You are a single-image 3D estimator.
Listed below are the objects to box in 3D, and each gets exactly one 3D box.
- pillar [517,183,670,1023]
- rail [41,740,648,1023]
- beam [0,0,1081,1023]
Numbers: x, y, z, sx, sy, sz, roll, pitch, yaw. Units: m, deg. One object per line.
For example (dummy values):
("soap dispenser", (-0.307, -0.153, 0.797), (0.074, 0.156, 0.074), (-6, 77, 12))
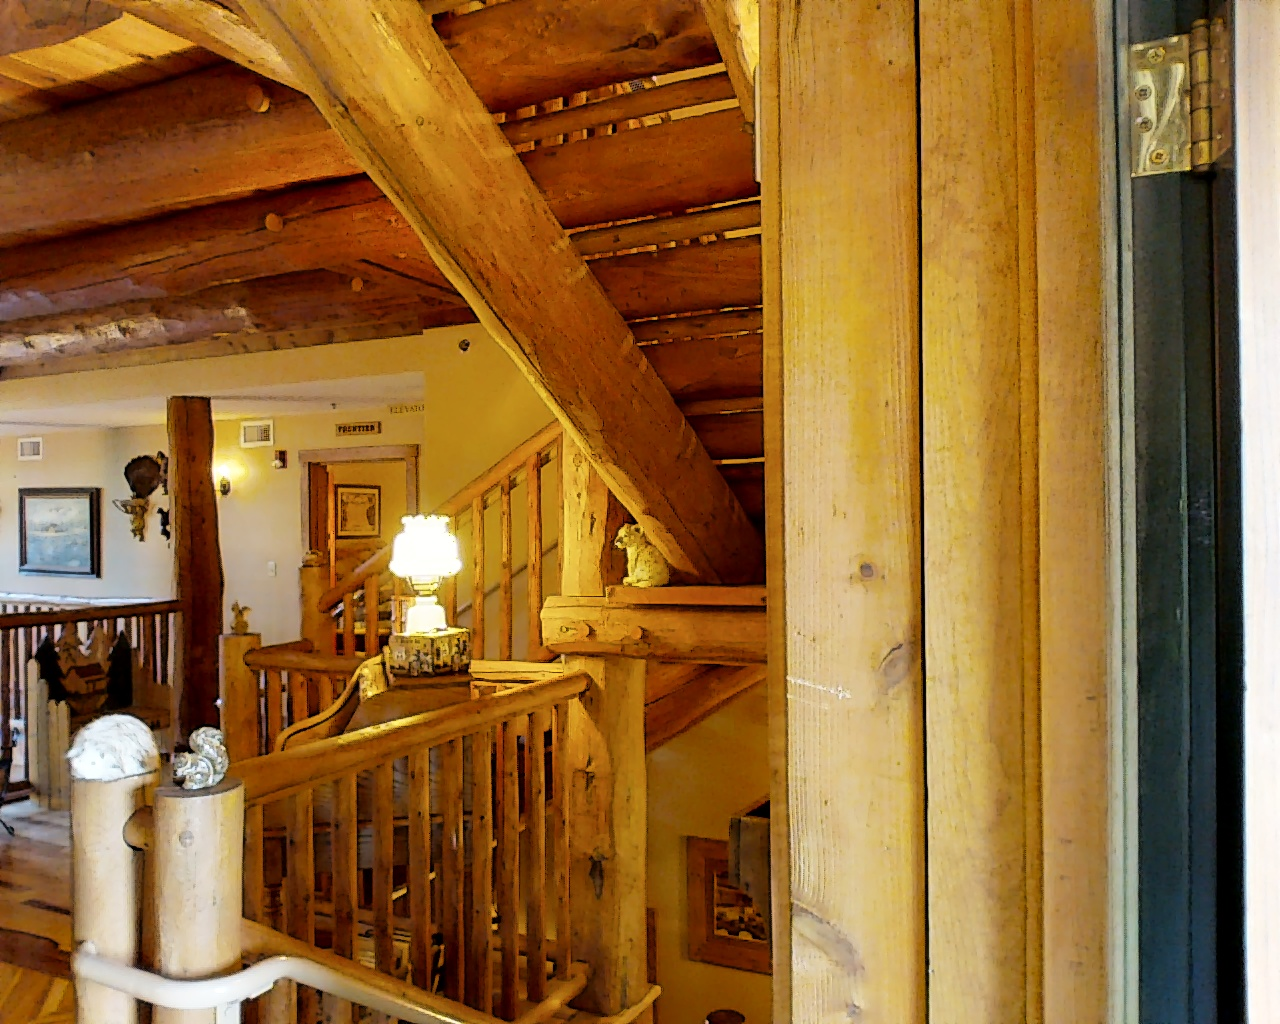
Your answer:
("pillar", (-0.150, 0.290, 3.570), (0.370, 2.621, 0.320), (-1, 0, 26))
("rail", (-0.510, 1.180, 2.530), (0.370, 0.940, 1.640), (-1, 0, 26))
("beam", (0.200, -0.320, 2.540), (1.310, 1.830, 2.820), (-1, 0, 27))
